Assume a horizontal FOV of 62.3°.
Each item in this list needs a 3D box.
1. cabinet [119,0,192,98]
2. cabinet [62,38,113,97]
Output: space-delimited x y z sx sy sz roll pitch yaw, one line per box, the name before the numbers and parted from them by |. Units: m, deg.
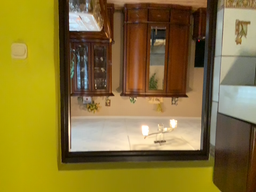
cabinet | 0.590 -1.030 5.020 1.540 2.070 0.690 1 -174 -5
cabinet | -0.920 -0.650 4.980 1.080 1.260 0.590 1 -174 -5
